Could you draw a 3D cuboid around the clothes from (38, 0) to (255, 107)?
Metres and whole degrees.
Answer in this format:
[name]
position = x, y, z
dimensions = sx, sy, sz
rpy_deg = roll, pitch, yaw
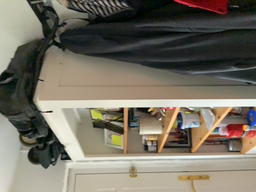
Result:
[clothes]
position = 0.330, -0.210, 0.880
dimensions = 0.310, 1.210, 0.400
rpy_deg = 93, 176, -58
